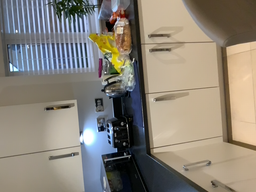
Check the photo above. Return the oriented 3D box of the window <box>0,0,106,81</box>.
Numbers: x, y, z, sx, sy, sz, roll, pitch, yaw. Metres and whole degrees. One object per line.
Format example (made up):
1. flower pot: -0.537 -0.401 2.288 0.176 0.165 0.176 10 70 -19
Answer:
1. window: -0.790 -0.640 2.200 0.060 1.050 0.890 180 85 -72
